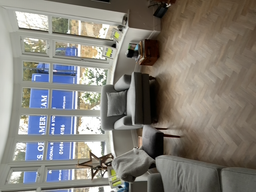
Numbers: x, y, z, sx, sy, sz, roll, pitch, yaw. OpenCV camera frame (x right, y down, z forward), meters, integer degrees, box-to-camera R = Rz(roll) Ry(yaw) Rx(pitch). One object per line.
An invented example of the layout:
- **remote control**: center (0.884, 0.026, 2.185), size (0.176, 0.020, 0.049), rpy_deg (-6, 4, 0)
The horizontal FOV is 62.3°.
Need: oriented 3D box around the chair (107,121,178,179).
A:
- **chair**: center (0.180, 0.720, 2.950), size (0.500, 0.810, 0.610), rpy_deg (-163, 78, -72)
